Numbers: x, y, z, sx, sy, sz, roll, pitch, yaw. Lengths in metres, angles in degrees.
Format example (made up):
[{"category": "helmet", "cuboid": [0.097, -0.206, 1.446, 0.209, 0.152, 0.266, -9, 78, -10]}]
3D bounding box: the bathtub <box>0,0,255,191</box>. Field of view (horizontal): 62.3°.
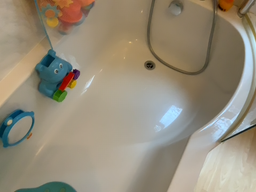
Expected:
[{"category": "bathtub", "cuboid": [-0.090, 0.230, 0.950, 0.830, 0.580, 1.680, 28, 64, 6]}]
